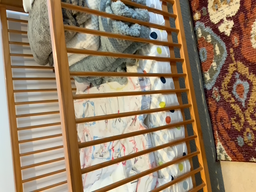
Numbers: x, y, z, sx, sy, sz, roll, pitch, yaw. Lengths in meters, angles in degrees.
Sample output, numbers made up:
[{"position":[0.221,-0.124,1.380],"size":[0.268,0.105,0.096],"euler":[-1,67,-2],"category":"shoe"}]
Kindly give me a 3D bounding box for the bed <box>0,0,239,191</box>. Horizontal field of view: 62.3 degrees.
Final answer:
[{"position":[-0.150,0.100,1.110],"size":[0.900,0.840,1.630],"euler":[-15,81,49],"category":"bed"}]
